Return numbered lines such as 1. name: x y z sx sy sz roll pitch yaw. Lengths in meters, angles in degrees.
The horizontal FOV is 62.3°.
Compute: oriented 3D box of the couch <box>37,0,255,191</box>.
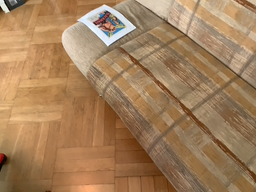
1. couch: 0.470 -0.010 0.880 0.870 0.890 1.890 -34 63 -16
